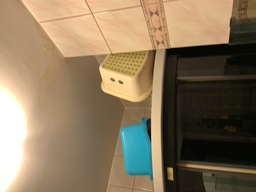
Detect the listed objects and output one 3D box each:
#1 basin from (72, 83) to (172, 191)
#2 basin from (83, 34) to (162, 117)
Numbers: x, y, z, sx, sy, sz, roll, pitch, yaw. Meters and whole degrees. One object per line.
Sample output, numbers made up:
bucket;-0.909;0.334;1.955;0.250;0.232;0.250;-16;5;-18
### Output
basin;0.030;0.270;1.210;0.570;0.340;0.410;65;-149;-50
basin;0.000;-0.080;0.970;0.270;0.250;0.250;61;-146;-53
